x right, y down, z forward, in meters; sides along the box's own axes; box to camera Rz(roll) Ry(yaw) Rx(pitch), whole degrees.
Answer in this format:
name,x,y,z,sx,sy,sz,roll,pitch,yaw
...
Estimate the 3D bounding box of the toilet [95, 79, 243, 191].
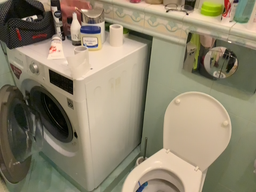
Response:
name,x,y,z,sx,sy,sz,roll,pitch,yaw
toilet,0.180,0.430,1.100,0.380,0.800,0.550,26,43,28
